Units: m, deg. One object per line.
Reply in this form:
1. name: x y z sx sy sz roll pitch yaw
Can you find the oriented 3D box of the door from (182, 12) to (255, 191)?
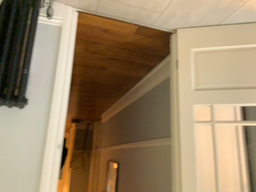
1. door: 0.870 0.390 1.400 0.910 2.090 0.130 -2 164 12
